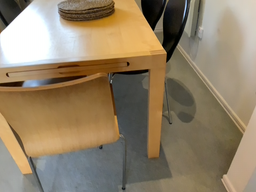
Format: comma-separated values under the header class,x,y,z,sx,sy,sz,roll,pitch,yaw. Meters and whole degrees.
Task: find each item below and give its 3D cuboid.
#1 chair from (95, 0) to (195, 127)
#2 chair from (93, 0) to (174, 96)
class,x,y,z,sx,sy,sz,roll,pitch,yaw
chair,0.090,-0.230,1.500,0.530,0.820,0.370,-6,38,-4
chair,0.040,-0.490,1.850,0.530,0.810,0.370,-15,39,-15
